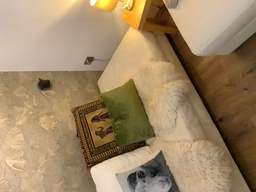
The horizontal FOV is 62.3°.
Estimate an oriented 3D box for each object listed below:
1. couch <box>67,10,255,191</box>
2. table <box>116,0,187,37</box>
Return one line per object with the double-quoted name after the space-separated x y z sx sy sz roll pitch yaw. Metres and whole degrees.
0.160 0.440 1.850 1.030 0.730 2.060 -49 54 48 "couch"
0.200 -0.770 1.910 0.370 0.440 0.290 53 135 39 "table"
